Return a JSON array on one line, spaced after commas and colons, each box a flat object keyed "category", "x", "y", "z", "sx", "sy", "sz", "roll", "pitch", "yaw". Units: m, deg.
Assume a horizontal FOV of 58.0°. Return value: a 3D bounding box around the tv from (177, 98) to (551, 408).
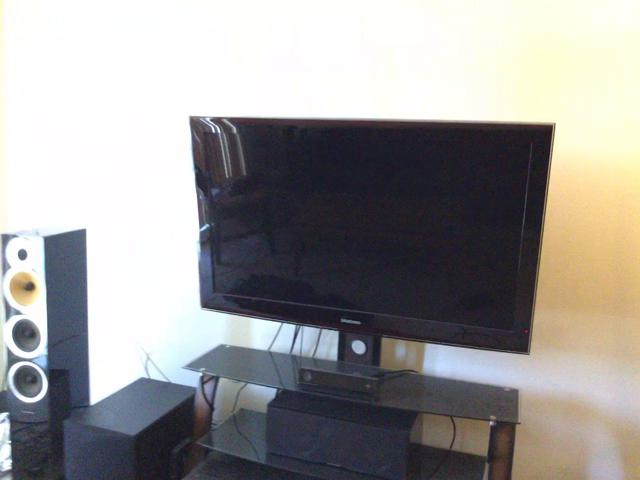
[{"category": "tv", "x": 0.110, "y": 0.020, "z": 1.910, "sx": 1.180, "sy": 0.860, "sz": 0.240, "roll": 2, "pitch": 1, "yaw": 19}]
